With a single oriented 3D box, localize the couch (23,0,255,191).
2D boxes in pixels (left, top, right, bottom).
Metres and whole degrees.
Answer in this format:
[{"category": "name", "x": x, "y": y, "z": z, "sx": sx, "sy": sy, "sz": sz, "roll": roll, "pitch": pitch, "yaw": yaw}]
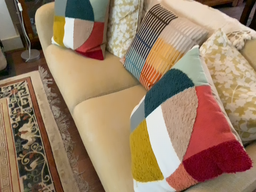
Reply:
[{"category": "couch", "x": 0.060, "y": -0.100, "z": 1.280, "sx": 0.910, "sy": 0.780, "sz": 1.470, "roll": -20, "pitch": 48, "yaw": -21}]
